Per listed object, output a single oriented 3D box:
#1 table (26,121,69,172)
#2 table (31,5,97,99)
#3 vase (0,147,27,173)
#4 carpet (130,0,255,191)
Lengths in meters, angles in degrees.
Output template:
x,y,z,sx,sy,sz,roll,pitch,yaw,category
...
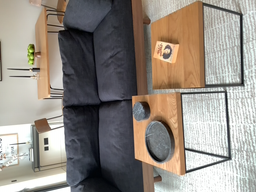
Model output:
x,y,z,sx,sy,sz,roll,pitch,yaw,category
-1.690,1.020,4.460,0.310,0.750,0.890,-7,86,58,table
-1.020,-0.580,3.290,0.770,0.760,1.200,-6,87,58,table
-2.340,1.240,4.070,0.200,0.680,0.380,-8,85,58,vase
0.590,-0.090,1.470,1.800,0.030,2.520,-11,82,58,carpet
